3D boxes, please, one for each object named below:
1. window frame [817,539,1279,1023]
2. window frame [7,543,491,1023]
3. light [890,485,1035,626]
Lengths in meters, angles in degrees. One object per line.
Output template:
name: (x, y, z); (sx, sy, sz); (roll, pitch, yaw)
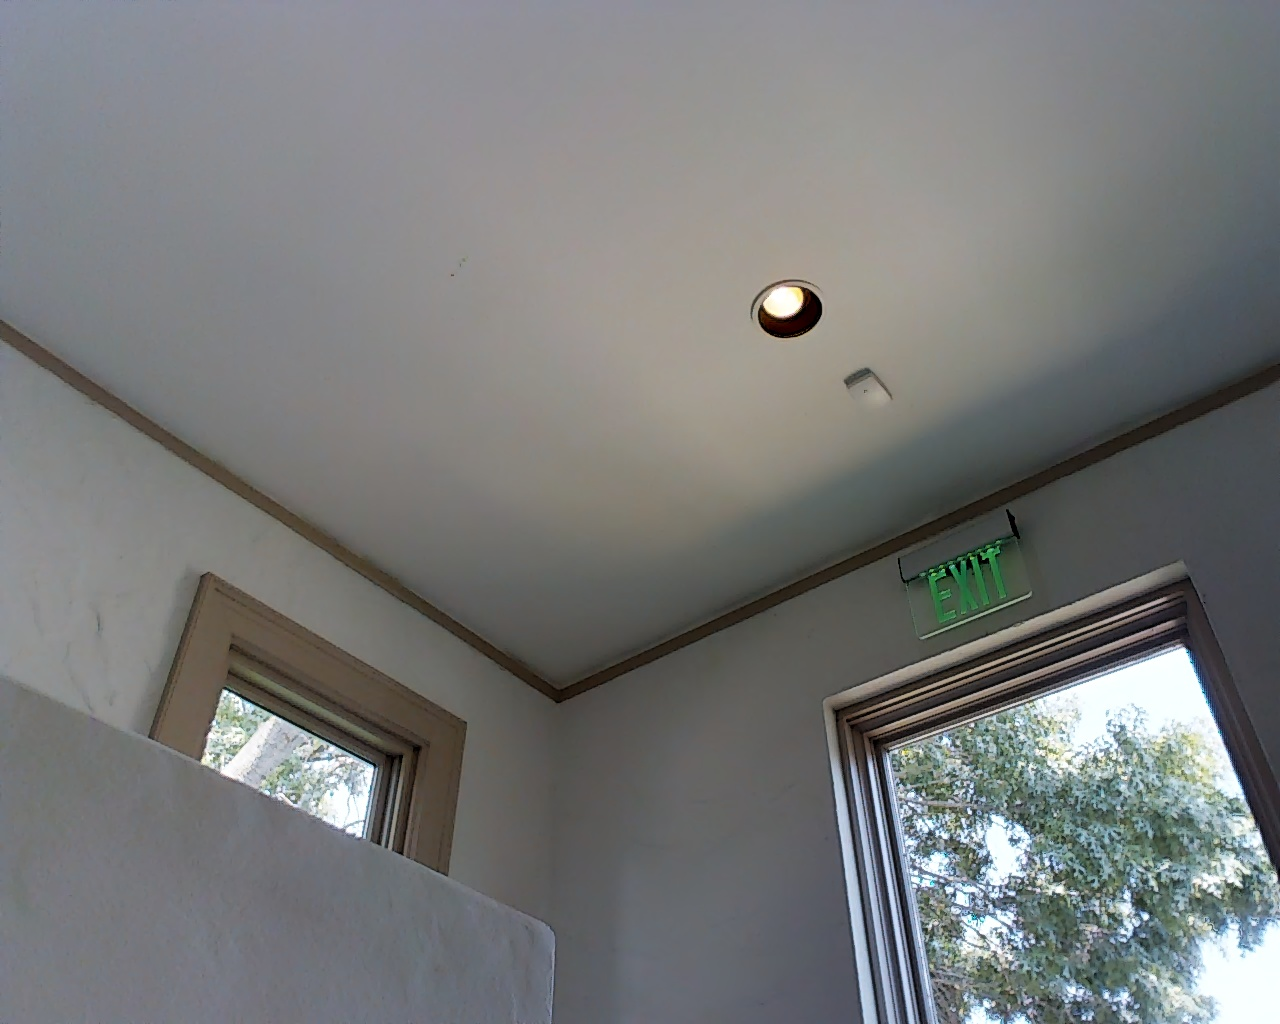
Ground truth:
window frame: (0.970, 0.810, 2.450); (1.020, 1.290, 0.210); (-27, -49, 27)
window frame: (-0.830, 0.810, 2.670); (0.150, 1.160, 1.020); (-27, -49, 27)
light: (0.870, 0.120, 2.940); (0.330, 0.280, 0.080); (-27, -49, 27)
